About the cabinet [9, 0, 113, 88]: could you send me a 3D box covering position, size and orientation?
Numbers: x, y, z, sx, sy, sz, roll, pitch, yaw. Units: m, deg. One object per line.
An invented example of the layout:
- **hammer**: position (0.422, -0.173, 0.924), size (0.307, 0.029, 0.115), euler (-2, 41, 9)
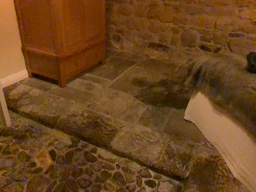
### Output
- **cabinet**: position (-0.720, -1.200, 2.500), size (0.610, 1.850, 1.090), euler (18, 33, 21)
